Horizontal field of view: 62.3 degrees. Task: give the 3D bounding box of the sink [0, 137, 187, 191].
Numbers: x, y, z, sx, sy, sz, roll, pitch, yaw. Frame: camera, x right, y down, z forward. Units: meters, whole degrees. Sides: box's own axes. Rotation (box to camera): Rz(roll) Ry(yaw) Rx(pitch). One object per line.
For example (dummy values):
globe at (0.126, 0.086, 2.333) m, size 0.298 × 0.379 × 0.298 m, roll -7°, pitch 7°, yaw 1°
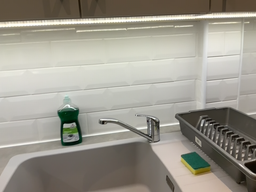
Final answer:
sink at (-0.110, 0.350, 0.640) m, size 0.510 × 0.200 × 0.450 m, roll -6°, pitch 15°, yaw -11°
